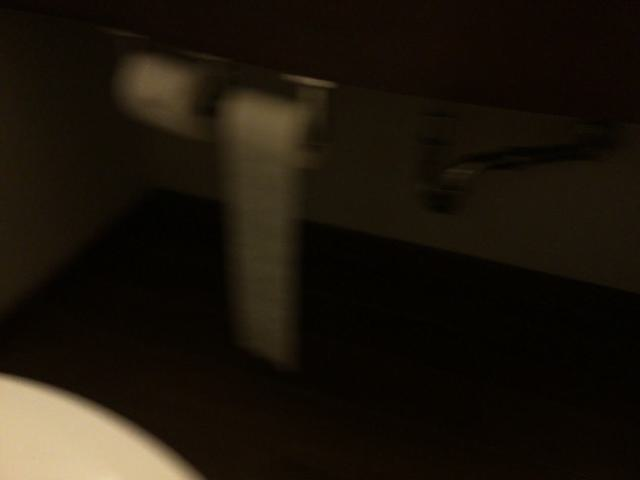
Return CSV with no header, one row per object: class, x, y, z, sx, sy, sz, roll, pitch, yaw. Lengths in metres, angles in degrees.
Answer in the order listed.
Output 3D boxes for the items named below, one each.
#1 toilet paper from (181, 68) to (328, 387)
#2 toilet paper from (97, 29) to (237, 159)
toilet paper,-0.100,0.000,0.860,0.160,0.460,0.100,13,33,12
toilet paper,-0.210,-0.210,0.820,0.150,0.130,0.110,13,33,12
